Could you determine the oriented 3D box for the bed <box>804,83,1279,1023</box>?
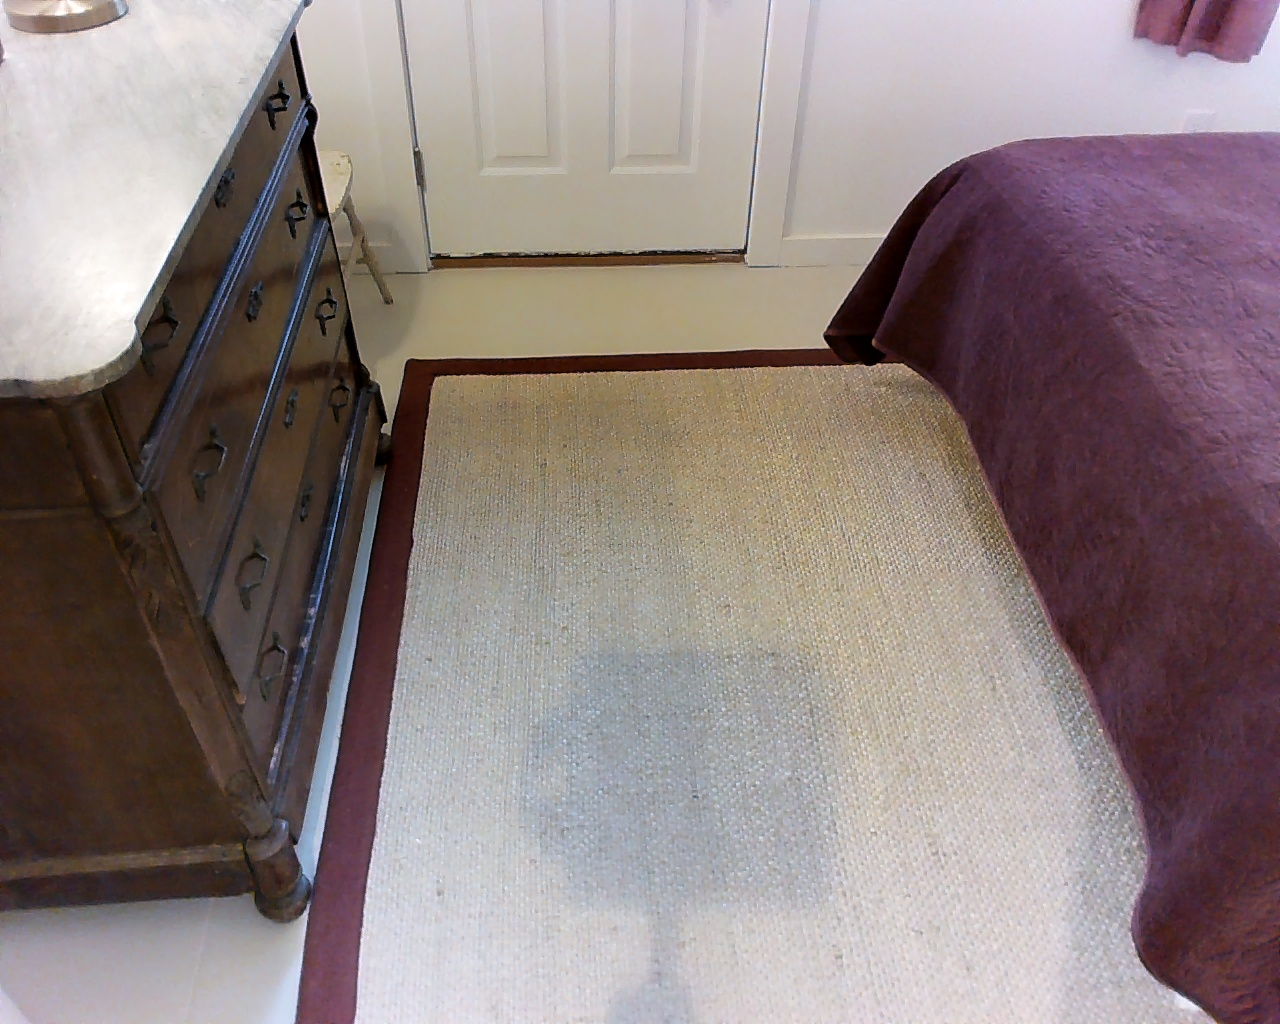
[{"bbox_3d":[1.640,-0.040,1.930,2.300,0.740,1.930,-2,42,-3],"label":"bed"}]
